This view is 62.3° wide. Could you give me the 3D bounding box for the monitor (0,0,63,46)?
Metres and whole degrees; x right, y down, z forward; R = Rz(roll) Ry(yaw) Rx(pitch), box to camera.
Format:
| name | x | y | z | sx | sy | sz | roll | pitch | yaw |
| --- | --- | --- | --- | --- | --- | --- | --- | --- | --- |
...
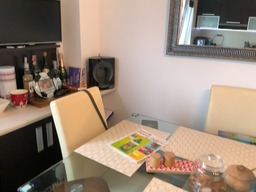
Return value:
| name | x | y | z | sx | sy | sz | roll | pitch | yaw |
| --- | --- | --- | --- | --- | --- | --- | --- | --- | --- |
| monitor | -0.670 | -0.520 | 1.460 | 0.030 | 0.330 | 0.500 | 19 | 24 | 35 |
